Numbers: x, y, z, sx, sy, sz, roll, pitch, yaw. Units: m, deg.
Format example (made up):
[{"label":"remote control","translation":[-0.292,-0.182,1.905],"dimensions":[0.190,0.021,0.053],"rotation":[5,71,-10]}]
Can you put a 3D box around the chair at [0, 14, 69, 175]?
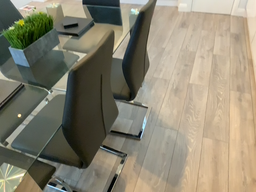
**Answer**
[{"label":"chair","translation":[-0.860,0.010,1.410],"dimensions":[0.550,0.970,0.430],"rotation":[12,45,17]}]

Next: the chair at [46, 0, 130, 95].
[{"label":"chair","translation":[-0.310,-0.620,2.020],"dimensions":[0.470,1.030,0.560],"rotation":[12,44,16]}]

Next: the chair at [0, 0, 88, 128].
[{"label":"chair","translation":[-0.760,-0.290,1.710],"dimensions":[0.550,1.000,0.430],"rotation":[12,45,17]}]

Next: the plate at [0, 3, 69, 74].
[{"label":"plate","translation":[-0.530,-0.350,1.250],"dimensions":[0.130,0.260,0.360],"rotation":[12,45,17]}]

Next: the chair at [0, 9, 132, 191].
[{"label":"chair","translation":[-0.320,0.120,1.220],"dimensions":[0.550,1.020,0.430],"rotation":[12,45,16]}]
